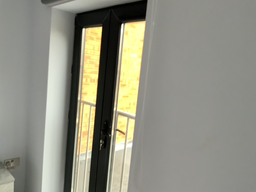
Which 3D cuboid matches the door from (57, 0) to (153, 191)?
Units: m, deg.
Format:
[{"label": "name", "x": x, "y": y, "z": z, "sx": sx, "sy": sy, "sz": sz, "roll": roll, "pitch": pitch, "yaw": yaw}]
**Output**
[{"label": "door", "x": -0.290, "y": 0.240, "z": 1.760, "sx": 0.070, "sy": 2.070, "sz": 0.940, "roll": -1, "pitch": 10, "yaw": -45}]
